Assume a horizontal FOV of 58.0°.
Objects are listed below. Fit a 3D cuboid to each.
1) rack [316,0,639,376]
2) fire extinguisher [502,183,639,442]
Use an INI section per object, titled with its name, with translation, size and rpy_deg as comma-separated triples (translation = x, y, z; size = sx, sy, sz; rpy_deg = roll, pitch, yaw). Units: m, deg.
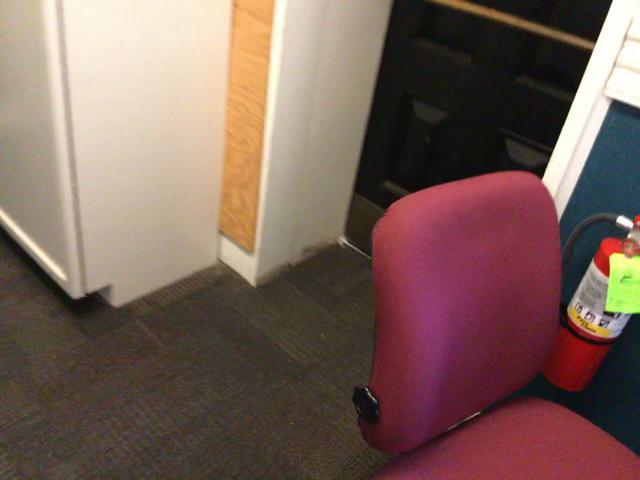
[rack]
translation = 0.440, -0.390, 1.680
size = 0.800, 1.460, 0.160
rpy_deg = 33, 39, 31
[fire extinguisher]
translation = 0.550, 0.150, 1.140
size = 0.190, 0.470, 0.130
rpy_deg = 33, 39, 31
